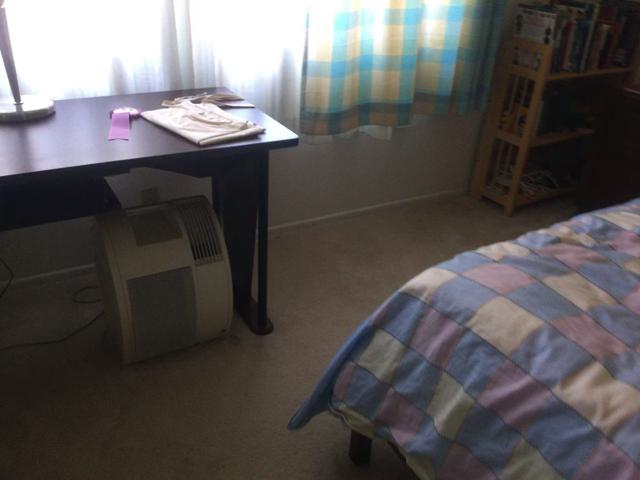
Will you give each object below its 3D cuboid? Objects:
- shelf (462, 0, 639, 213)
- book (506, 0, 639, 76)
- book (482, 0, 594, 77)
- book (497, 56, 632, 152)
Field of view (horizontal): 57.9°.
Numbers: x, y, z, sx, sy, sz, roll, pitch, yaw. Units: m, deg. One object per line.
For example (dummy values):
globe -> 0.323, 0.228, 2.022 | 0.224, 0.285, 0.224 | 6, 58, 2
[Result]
shelf -> 1.140, -0.690, 2.830 | 0.660, 0.970, 0.330 | -12, 32, -26
book -> 1.210, -0.990, 2.710 | 0.540, 0.340, 0.290 | -12, 32, -26
book -> 0.970, -0.940, 2.610 | 0.260, 0.310, 0.330 | -12, 32, -26
book -> 1.170, -0.660, 2.770 | 0.600, 0.370, 0.170 | -12, 32, -26
